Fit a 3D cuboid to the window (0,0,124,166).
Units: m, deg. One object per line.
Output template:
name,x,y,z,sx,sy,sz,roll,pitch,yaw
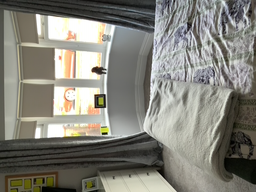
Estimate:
window,-0.970,-0.230,3.230,0.860,1.540,2.180,-166,78,-71
